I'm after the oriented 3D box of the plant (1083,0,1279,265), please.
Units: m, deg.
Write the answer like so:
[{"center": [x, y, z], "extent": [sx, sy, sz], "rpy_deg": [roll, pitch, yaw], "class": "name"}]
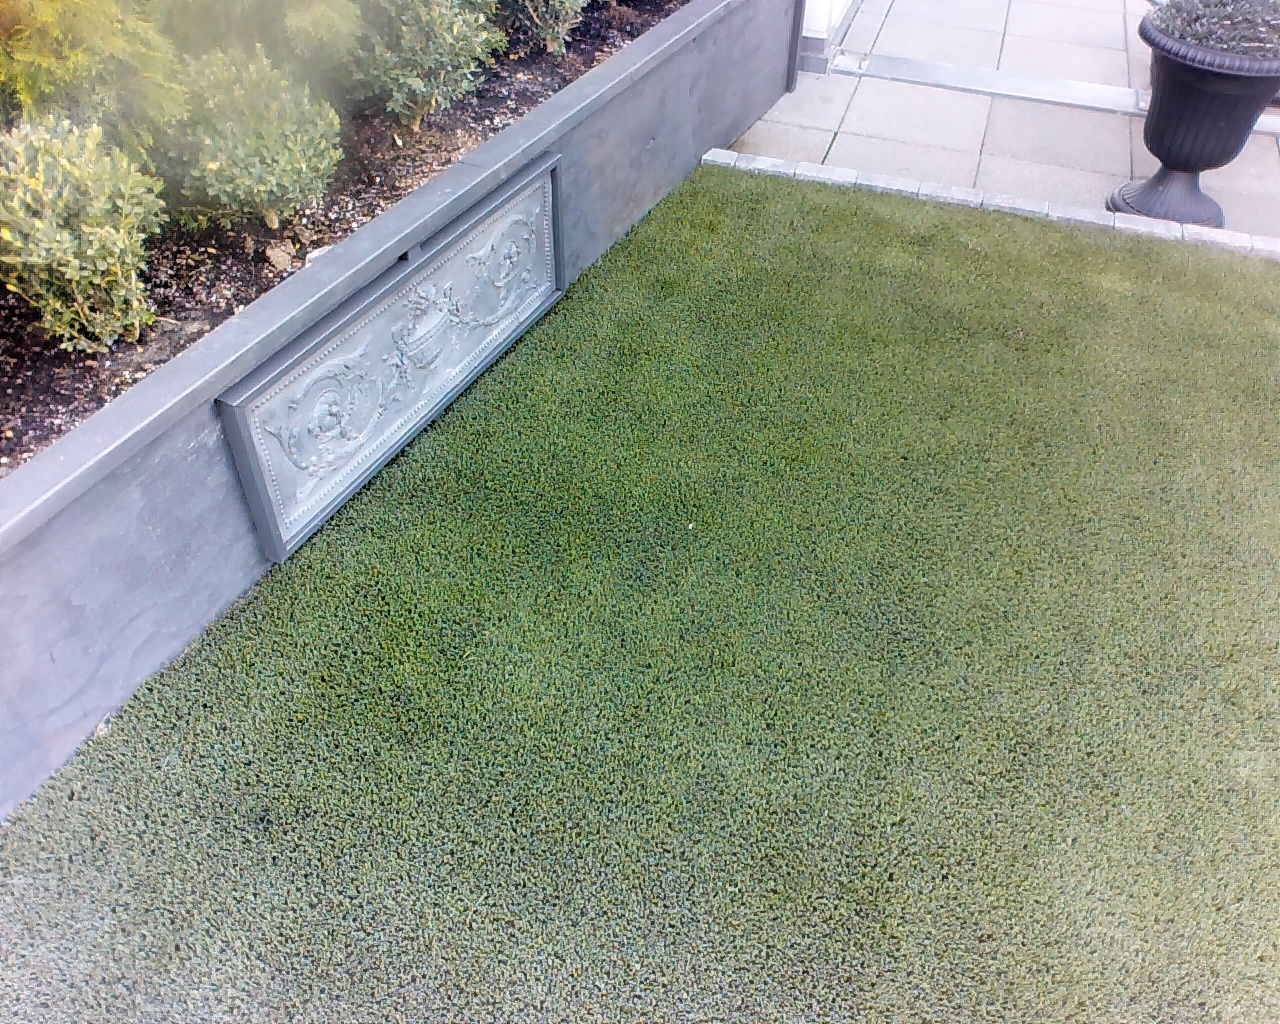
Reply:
[{"center": [1.540, -1.070, 2.950], "extent": [0.440, 0.530, 0.470], "rpy_deg": [14, 45, 13], "class": "plant"}]
